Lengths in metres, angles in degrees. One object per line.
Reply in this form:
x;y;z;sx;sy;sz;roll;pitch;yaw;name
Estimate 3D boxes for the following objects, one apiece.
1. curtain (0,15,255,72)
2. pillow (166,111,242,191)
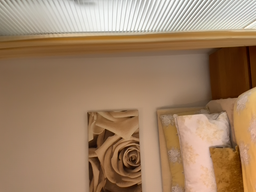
-0.050;-0.330;1.400;0.450;2.080;0.180;128;139;-81;curtain
0.540;0.470;1.580;0.370;0.360;0.670;125;142;-81;pillow
